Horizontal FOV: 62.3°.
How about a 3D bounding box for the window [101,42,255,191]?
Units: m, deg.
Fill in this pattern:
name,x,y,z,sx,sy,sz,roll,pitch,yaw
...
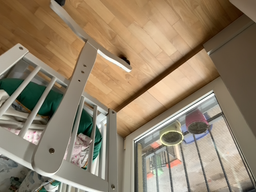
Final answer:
name,x,y,z,sx,sy,sz,roll,pitch,yaw
window,0.190,0.720,0.620,0.240,2.390,0.830,33,122,-22
